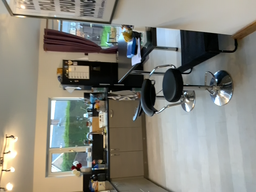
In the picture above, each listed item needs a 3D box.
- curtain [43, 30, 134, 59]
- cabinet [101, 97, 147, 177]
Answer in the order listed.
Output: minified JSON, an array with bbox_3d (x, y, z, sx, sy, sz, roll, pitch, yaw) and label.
[{"bbox_3d":[-0.970,-1.290,5.440,0.410,2.190,0.380,131,138,-68],"label":"curtain"},{"bbox_3d":[-0.130,0.890,4.830,0.600,0.890,1.630,146,124,-72],"label":"cabinet"}]
